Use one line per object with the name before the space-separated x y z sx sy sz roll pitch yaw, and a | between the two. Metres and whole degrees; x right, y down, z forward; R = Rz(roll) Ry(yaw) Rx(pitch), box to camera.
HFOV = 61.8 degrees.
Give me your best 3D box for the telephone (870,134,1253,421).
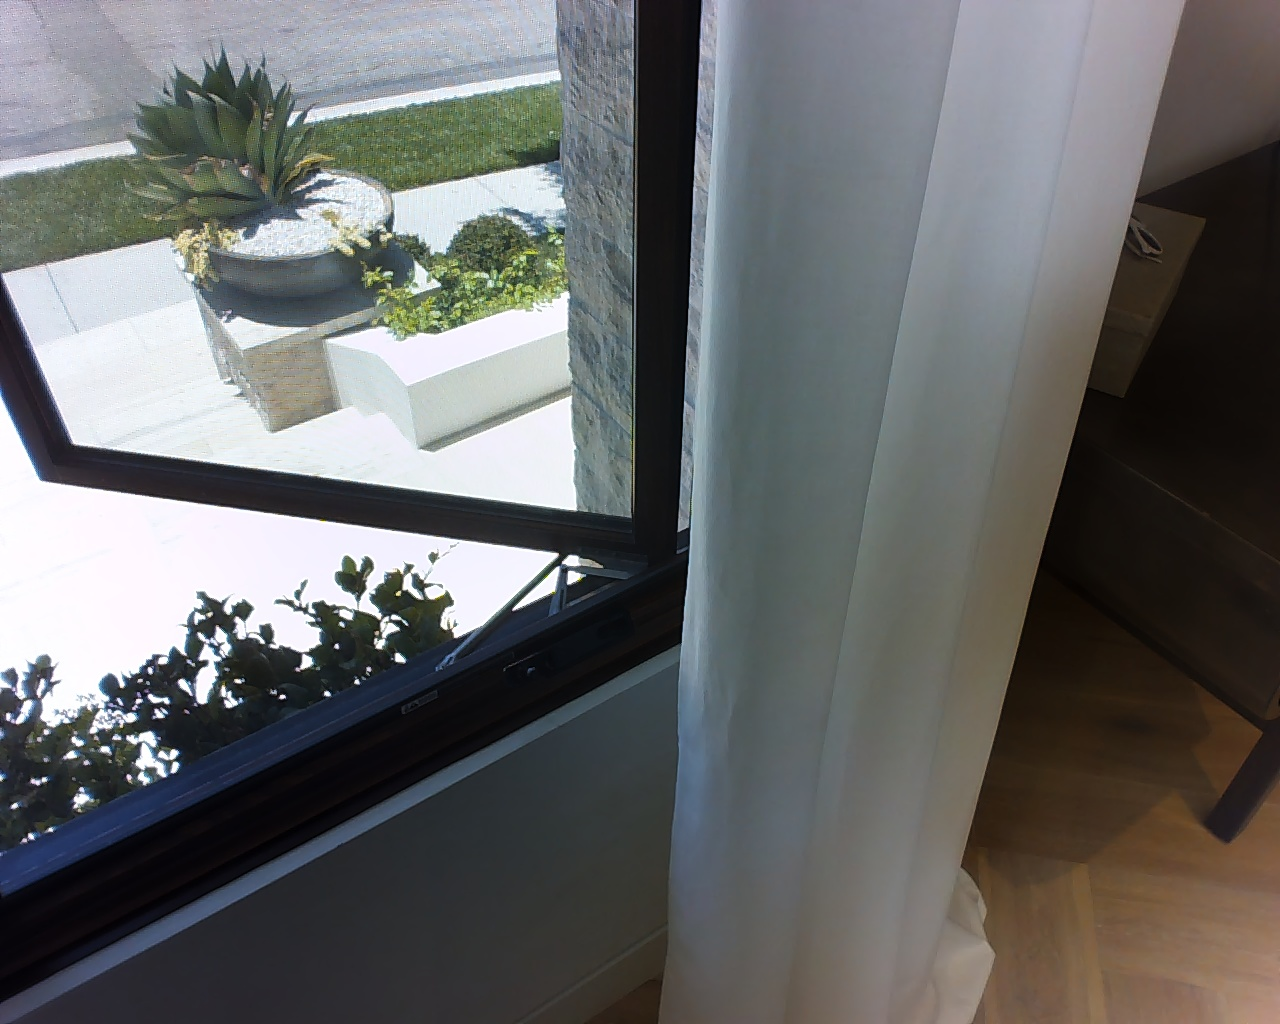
telephone | 0.610 -0.360 1.550 0.400 0.150 0.400 23 47 23
